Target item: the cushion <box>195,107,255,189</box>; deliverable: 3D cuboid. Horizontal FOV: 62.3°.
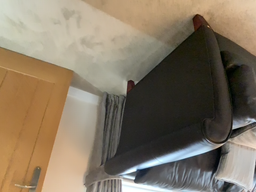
[{"bbox_3d":[0.890,0.410,1.560,0.410,0.420,0.600,22,145,-26],"label":"cushion"}]
